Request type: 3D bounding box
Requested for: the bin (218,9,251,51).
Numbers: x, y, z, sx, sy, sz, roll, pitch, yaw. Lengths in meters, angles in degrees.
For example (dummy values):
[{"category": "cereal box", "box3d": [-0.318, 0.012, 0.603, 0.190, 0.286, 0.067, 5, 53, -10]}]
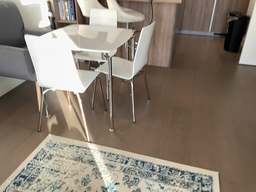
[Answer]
[{"category": "bin", "box3d": [1.910, -1.210, 3.870, 0.380, 0.630, 0.450, 11, 32, 17]}]
